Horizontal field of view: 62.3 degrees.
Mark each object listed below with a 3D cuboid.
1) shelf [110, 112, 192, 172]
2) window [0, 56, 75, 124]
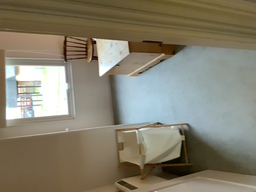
[{"bbox_3d":[0.220,0.470,2.270,0.570,0.600,0.480,-24,72,62],"label":"shelf"},{"bbox_3d":[-1.520,-0.110,3.580,0.270,1.080,1.040,-21,74,62],"label":"window"}]
